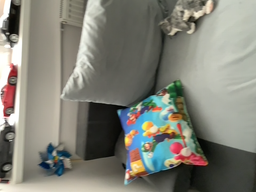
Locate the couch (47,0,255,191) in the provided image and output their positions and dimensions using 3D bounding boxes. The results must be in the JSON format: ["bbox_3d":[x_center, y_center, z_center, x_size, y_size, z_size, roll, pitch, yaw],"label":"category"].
[{"bbox_3d":[0.240,-0.540,1.060,0.950,0.860,2.040,10,97,51],"label":"couch"}]
